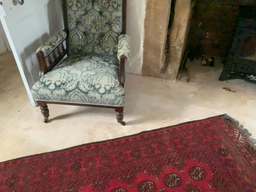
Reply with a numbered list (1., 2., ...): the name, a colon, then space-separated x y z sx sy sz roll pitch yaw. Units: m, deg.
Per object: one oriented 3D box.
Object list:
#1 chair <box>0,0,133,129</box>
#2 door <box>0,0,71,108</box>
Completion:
1. chair: -0.340 -0.370 1.680 0.690 0.910 0.800 4 40 4
2. door: -0.740 -0.850 1.530 0.030 1.850 0.780 9 41 9
